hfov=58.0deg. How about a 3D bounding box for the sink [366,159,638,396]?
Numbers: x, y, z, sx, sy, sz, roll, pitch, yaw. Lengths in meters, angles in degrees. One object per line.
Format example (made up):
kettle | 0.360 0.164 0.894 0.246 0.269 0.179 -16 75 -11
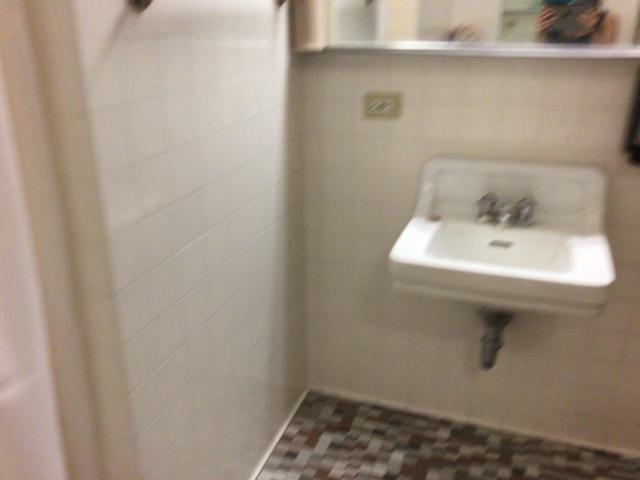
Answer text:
sink | 0.460 0.050 1.530 0.560 0.420 0.490 5 19 19
